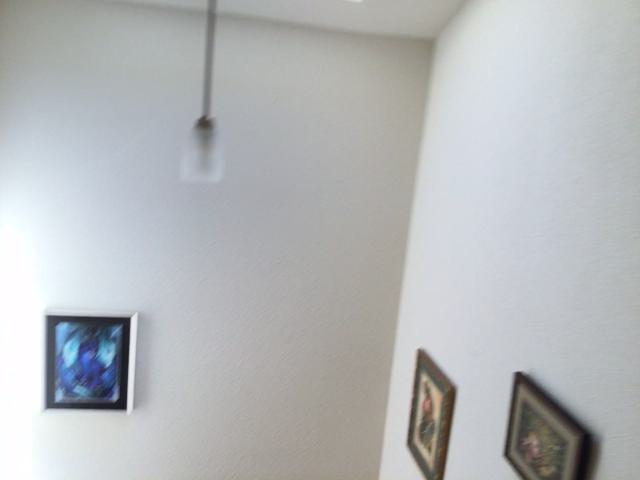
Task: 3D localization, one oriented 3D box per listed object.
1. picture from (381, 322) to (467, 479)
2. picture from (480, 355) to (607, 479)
[{"bbox_3d":[0.440,0.760,2.620,0.050,0.550,0.740,5,11,-11],"label":"picture"},{"bbox_3d":[0.630,0.590,1.700,0.060,0.340,0.460,5,11,-11],"label":"picture"}]
